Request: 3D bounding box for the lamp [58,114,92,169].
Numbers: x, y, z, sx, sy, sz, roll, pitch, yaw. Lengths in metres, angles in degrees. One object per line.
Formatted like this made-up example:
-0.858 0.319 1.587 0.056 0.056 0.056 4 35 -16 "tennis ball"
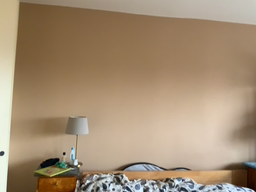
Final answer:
-0.540 0.460 2.210 0.270 0.510 0.260 3 -2 -5 "lamp"
